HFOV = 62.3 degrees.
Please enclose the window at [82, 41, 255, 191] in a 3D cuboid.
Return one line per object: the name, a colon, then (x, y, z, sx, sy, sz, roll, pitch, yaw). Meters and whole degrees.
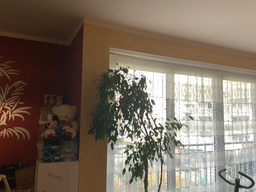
window: (1.230, 0.800, 3.030, 3.730, 2.510, 0.260, 4, -6, -27)
